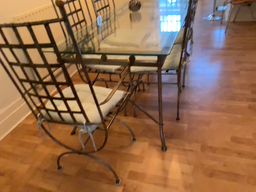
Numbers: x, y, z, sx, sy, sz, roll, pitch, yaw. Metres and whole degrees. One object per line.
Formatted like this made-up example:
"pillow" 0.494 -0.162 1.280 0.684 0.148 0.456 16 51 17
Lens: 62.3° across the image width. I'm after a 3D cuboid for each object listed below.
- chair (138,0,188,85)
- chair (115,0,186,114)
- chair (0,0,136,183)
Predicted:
"chair" 0.380 -0.700 2.160 0.390 1.080 0.430 6 36 20
"chair" 0.230 -0.440 1.790 0.420 1.080 0.470 6 36 20
"chair" -0.300 -0.040 1.290 0.470 1.080 0.420 9 37 24
